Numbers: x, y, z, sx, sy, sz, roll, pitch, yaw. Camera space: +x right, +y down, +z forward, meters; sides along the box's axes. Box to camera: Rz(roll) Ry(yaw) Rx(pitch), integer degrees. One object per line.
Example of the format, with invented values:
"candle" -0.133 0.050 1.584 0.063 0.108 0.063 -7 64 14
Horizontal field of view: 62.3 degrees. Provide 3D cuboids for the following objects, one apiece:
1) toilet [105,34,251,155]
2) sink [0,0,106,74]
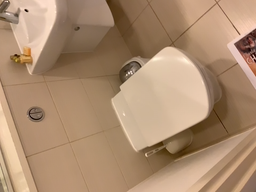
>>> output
"toilet" 0.250 0.000 1.170 0.550 0.430 0.370 -39 71 42
"sink" -0.420 -0.490 1.020 0.470 0.190 0.590 -41 70 41
